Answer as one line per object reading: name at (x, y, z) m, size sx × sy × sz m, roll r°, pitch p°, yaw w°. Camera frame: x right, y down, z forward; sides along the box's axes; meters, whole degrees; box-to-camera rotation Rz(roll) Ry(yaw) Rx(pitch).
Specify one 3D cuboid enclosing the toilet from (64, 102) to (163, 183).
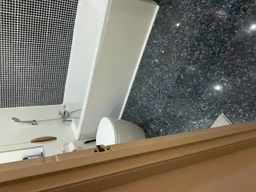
toilet at (-0.170, 0.440, 2.140) m, size 0.370 × 0.770 × 0.660 m, roll 56°, pitch 136°, yaw 42°
